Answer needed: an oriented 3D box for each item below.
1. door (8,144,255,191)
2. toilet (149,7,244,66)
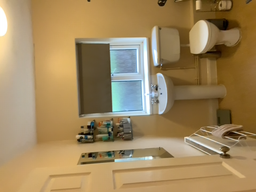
[{"bbox_3d":[0.480,0.370,0.950,0.750,1.930,0.050,-158,66,-83],"label":"door"},{"bbox_3d":[0.780,-0.690,2.620,0.680,0.900,0.540,-174,82,-83],"label":"toilet"}]
